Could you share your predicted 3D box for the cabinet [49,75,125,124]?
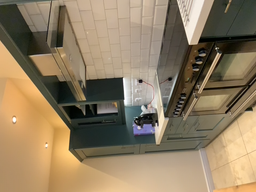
[{"bbox_3d":[-0.480,0.080,2.830,0.800,0.840,0.270,88,178,-63],"label":"cabinet"}]
